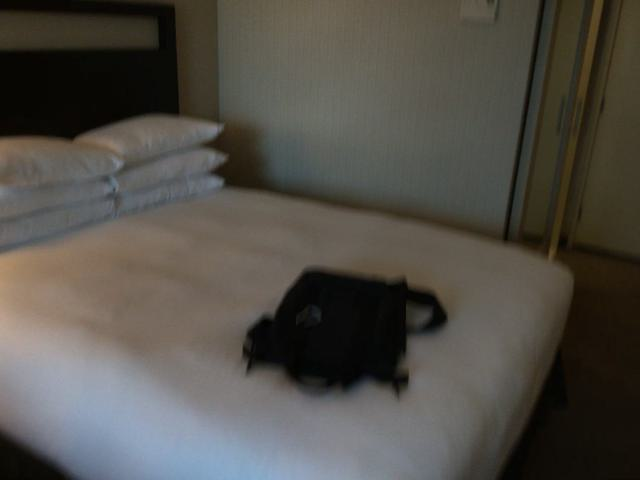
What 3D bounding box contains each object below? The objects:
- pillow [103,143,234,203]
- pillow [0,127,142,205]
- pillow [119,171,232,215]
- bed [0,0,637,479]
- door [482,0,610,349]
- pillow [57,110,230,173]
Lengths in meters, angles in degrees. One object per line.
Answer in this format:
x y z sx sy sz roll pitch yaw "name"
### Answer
-0.620 -0.300 2.470 0.120 0.150 0.630 11 20 30 "pillow"
-1.030 -0.290 2.110 0.440 0.160 0.570 11 20 30 "pillow"
-0.600 -0.210 2.480 0.110 0.080 0.550 11 20 30 "pillow"
-0.360 -0.020 1.870 2.100 1.580 1.750 11 20 30 "bed"
1.180 -0.600 2.900 0.200 2.010 1.090 11 20 30 "door"
-0.750 -0.450 2.540 0.410 0.180 0.600 11 20 30 "pillow"
